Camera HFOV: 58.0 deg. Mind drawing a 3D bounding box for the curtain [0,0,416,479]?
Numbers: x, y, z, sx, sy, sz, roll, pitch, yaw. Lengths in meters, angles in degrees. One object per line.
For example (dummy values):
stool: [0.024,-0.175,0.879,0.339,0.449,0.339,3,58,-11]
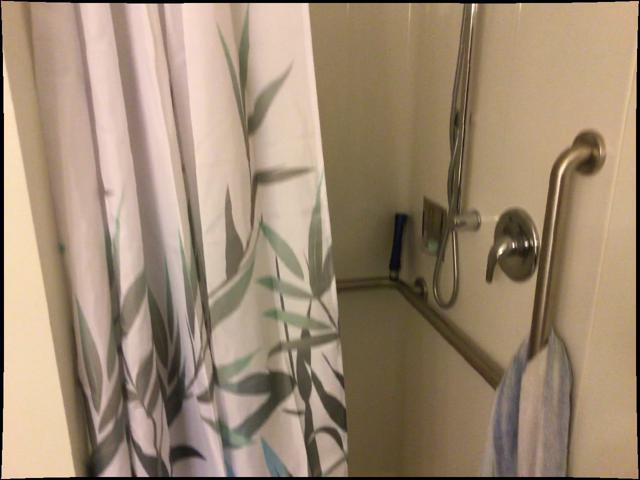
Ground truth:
curtain: [-0.160,0.391,0.960,0.519,1.824,0.380,-9,20,-14]
